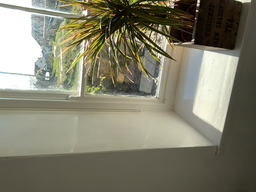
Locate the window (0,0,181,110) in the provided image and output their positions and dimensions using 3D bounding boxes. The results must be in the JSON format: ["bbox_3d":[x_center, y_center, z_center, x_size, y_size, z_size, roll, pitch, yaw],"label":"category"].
[{"bbox_3d":[-0.250,-0.440,1.220,0.200,1.120,1.000,-151,65,-65],"label":"window"}]

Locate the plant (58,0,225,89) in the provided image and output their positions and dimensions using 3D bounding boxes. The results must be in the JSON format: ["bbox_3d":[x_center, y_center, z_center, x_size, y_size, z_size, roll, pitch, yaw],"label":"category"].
[{"bbox_3d":[0.060,-0.260,1.000,0.230,0.710,0.370,-145,60,-63],"label":"plant"}]
